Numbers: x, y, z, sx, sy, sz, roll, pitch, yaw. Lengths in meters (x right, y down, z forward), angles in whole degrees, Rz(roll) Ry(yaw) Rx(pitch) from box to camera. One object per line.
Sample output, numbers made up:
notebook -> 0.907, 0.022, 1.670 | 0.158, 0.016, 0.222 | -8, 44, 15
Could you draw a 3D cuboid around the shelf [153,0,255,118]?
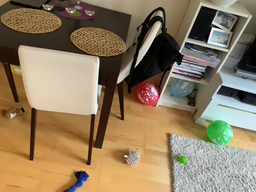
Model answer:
shelf -> 0.590, -0.310, 1.930 | 0.420, 1.060, 0.320 | 12, 41, -5
